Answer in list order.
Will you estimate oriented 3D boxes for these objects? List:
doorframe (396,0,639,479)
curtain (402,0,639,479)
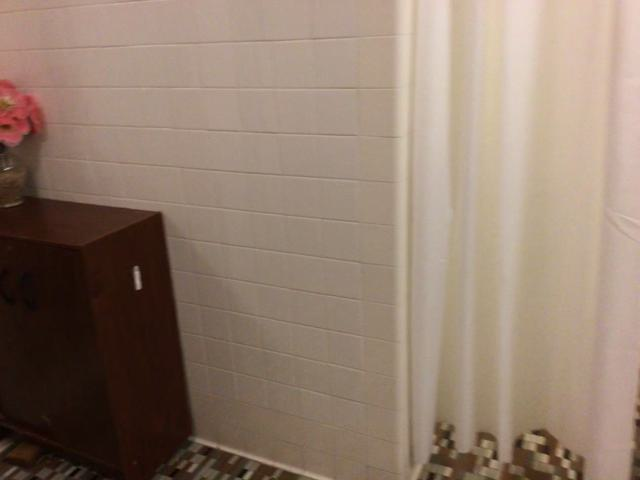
[{"bbox_3d":[0.600,-0.010,1.330,0.810,1.650,0.220,6,22,24],"label":"doorframe"},{"bbox_3d":[0.550,-0.100,1.440,0.580,1.660,0.450,6,22,24],"label":"curtain"}]
